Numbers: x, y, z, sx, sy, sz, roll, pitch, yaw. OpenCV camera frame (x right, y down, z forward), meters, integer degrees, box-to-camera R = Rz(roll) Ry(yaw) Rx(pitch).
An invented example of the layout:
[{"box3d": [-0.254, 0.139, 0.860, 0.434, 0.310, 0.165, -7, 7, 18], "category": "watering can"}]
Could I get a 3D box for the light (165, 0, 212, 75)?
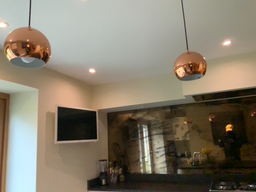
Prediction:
[{"box3d": [0.350, -0.420, 1.230, 0.190, 0.190, 0.580, 52, -142, -44], "category": "light"}]
